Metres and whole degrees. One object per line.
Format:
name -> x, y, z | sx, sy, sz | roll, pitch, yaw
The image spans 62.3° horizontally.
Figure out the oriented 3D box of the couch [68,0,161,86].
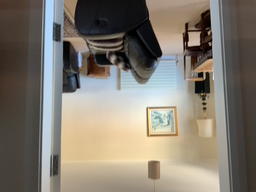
couch -> -0.140, -0.740, 3.080 | 1.010, 0.980, 1.480 | -1, 174, 1
